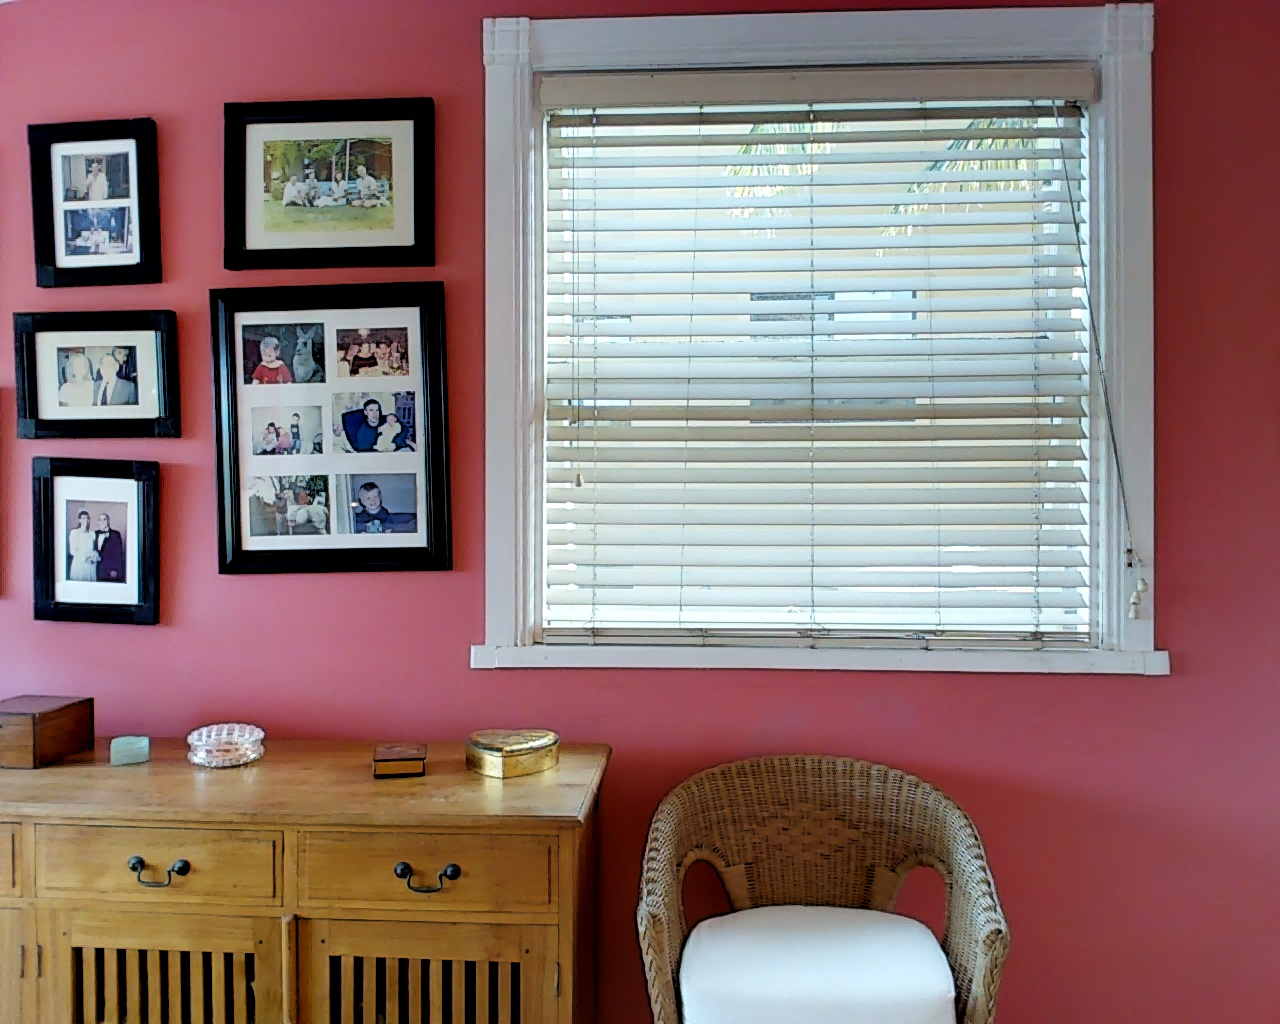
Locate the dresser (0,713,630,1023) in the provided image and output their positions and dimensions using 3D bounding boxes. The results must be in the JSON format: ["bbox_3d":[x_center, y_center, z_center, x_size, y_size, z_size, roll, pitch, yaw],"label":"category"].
[{"bbox_3d":[-0.950,0.850,2.000,1.819,0.820,0.600,1,0,3],"label":"dresser"}]

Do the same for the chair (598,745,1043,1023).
[{"bbox_3d":[0.280,0.870,1.920,0.650,0.750,0.660,1,0,3],"label":"chair"}]
